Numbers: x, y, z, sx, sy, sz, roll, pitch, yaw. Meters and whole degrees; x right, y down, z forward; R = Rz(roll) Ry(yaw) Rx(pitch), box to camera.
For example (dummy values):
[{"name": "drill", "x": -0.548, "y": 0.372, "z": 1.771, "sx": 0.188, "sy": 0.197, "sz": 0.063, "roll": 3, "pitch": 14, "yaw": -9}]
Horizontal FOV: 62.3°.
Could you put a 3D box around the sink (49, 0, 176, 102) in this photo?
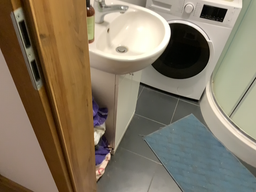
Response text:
[{"name": "sink", "x": -0.040, "y": -0.260, "z": 1.040, "sx": 0.420, "sy": 0.150, "sz": 0.510, "roll": 19, "pitch": 47, "yaw": 11}]

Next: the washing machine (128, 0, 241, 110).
[{"name": "washing machine", "x": 0.420, "y": -0.440, "z": 1.760, "sx": 0.610, "sy": 0.860, "sz": 0.510, "roll": 20, "pitch": 47, "yaw": 12}]
